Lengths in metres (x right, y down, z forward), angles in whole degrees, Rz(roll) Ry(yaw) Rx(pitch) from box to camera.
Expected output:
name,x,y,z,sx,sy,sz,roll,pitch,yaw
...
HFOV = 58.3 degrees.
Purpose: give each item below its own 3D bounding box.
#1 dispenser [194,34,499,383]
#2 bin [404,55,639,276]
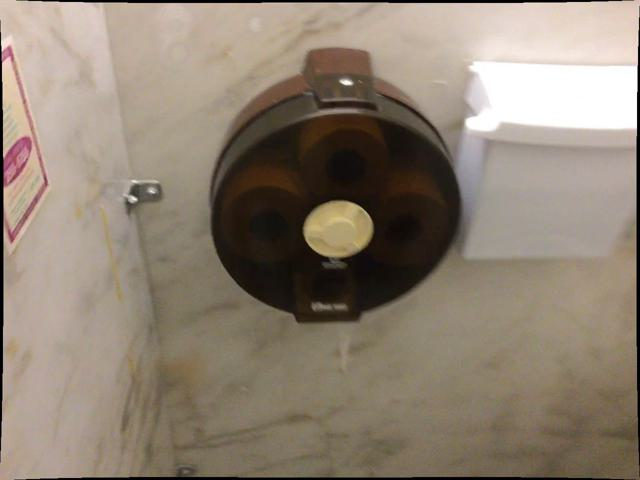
name,x,y,z,sx,sy,sz,roll,pitch,yaw
dispenser,0.010,-0.020,0.840,0.340,0.490,0.160,0,36,-6
bin,0.330,-0.100,0.840,0.350,0.280,0.140,0,36,-6
